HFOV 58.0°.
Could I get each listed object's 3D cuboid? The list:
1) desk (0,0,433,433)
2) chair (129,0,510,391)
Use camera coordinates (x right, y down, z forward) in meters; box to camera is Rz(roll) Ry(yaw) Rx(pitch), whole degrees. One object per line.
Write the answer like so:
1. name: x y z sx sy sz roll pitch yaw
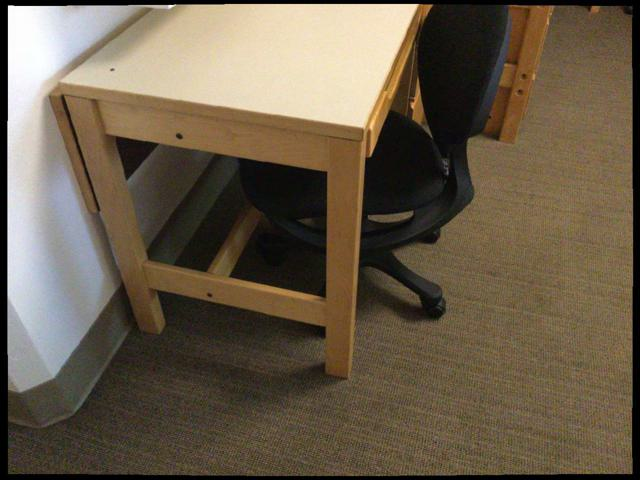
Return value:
1. desk: -0.090 -0.381 1.740 0.719 0.851 1.501 7 43 11
2. chair: 0.060 -0.170 1.510 0.679 0.841 0.630 7 43 10
